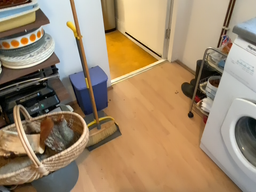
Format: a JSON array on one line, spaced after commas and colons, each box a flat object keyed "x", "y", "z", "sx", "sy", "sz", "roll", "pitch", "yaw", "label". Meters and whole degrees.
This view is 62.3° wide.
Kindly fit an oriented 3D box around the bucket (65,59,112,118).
[{"x": -0.300, "y": -0.060, "z": 1.680, "sx": 0.250, "sy": 0.340, "sz": 0.220, "roll": -24, "pitch": 48, "yaw": -21, "label": "bucket"}]
